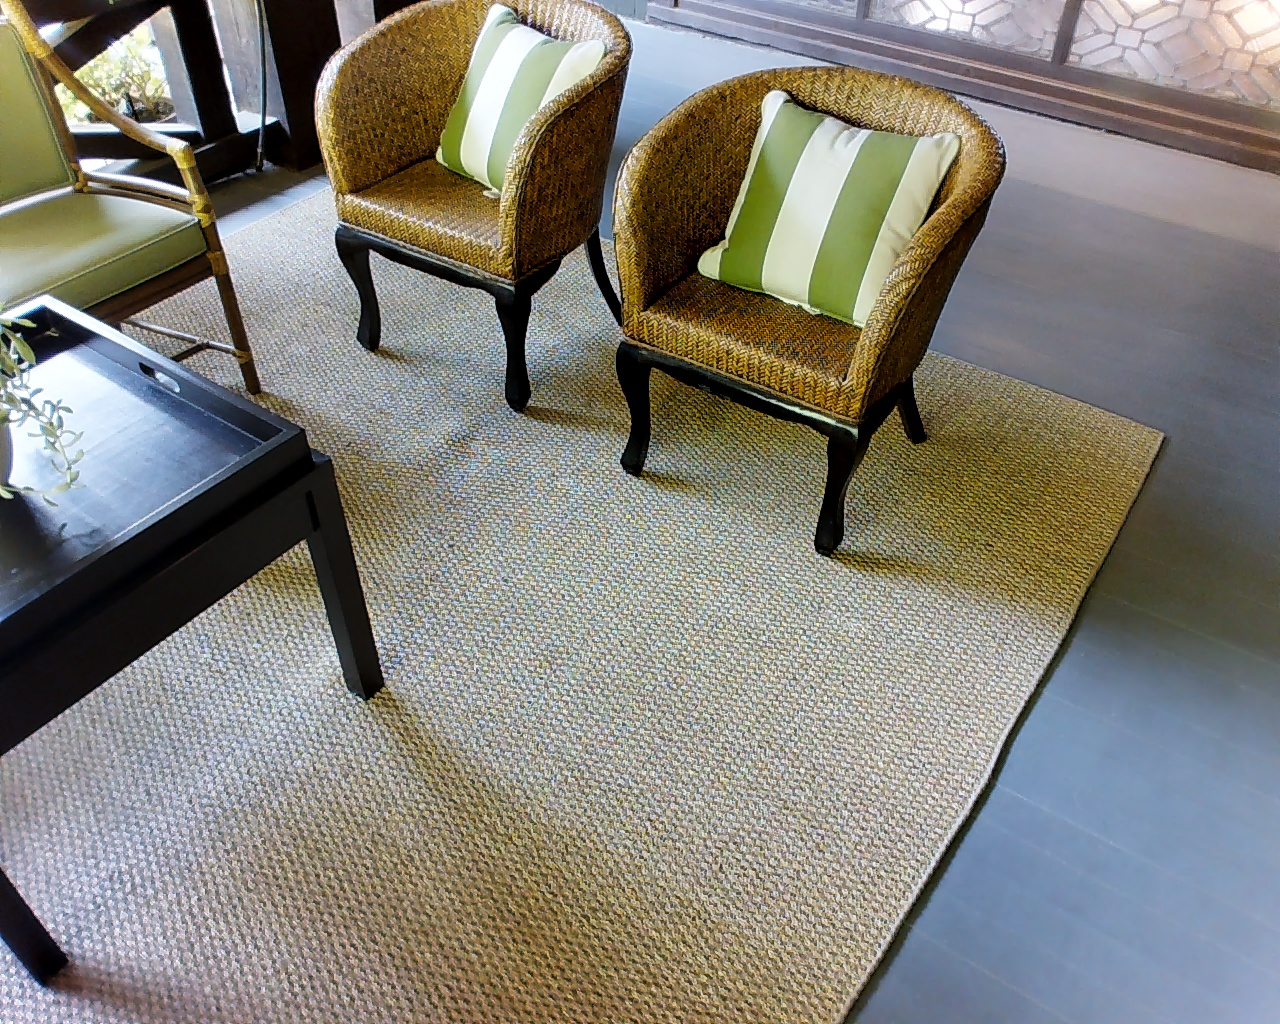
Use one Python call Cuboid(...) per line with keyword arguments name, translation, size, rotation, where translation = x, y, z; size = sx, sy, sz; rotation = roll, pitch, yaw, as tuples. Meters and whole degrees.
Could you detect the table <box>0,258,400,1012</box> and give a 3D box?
Cuboid(name="table", translation=(-1.010, 0.130, 1.770), size=(0.810, 0.610, 0.780), rotation=(26, 48, 26))
